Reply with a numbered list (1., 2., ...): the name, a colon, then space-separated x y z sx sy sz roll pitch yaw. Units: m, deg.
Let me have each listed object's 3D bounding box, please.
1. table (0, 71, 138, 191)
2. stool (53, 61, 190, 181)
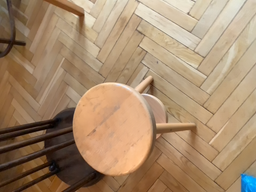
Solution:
1. table: -0.520 0.360 1.050 0.750 0.790 0.730 -17 85 25
2. stool: 0.020 0.090 0.930 0.330 0.520 0.340 -15 86 26
